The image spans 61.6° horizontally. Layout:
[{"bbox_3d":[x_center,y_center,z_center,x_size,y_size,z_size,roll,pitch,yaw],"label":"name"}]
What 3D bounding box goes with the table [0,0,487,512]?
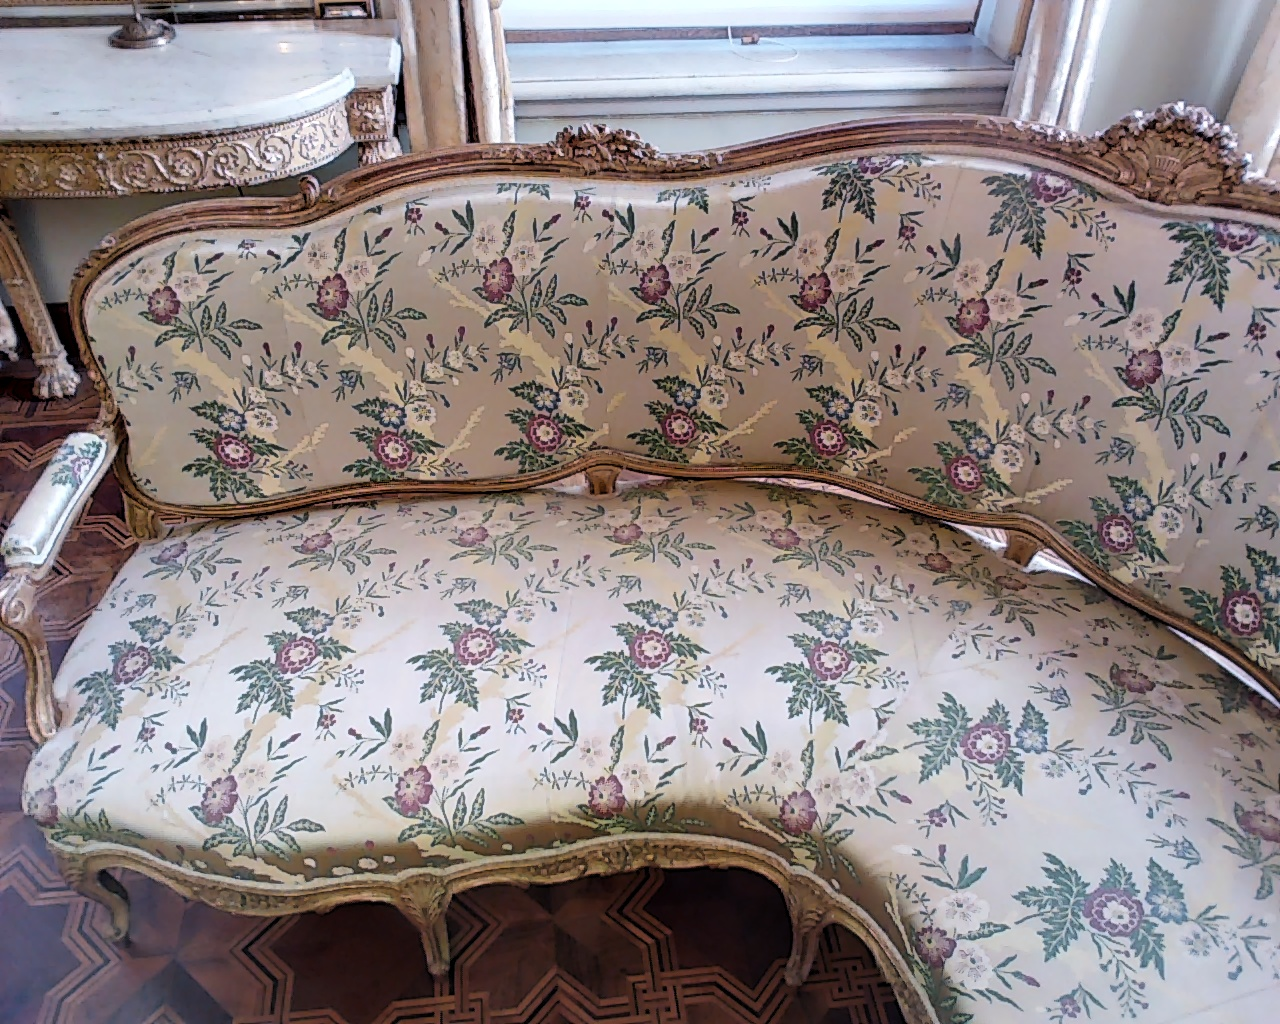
[{"bbox_3d":[-1.030,-0.620,2.560,1.240,0.990,0.660,-3,41,-5],"label":"table"}]
